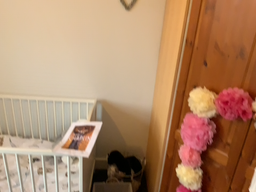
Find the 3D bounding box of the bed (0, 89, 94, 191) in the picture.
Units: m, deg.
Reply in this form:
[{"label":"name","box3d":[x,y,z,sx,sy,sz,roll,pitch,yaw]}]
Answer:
[{"label":"bed","box3d":[-1.050,0.450,1.580,1.480,0.790,0.730,4,22,-3]}]
